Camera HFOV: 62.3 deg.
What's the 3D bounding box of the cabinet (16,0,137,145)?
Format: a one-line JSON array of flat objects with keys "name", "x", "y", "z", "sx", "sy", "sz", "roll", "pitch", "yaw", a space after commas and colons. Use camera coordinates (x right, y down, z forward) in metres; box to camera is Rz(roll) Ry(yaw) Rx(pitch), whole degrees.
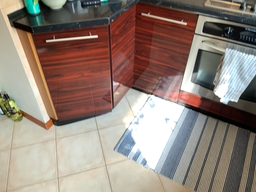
[{"name": "cabinet", "x": -0.270, "y": -0.200, "z": 1.530, "sx": 0.400, "sy": 0.870, "sz": 0.600, "roll": 22, "pitch": 48, "yaw": 20}]
